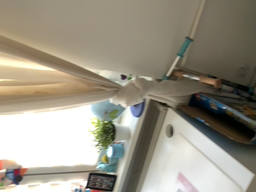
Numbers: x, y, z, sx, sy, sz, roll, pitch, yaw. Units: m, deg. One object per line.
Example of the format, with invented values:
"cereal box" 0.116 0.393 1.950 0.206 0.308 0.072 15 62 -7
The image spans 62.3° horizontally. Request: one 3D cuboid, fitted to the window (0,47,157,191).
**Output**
"window" -0.770 0.490 1.080 0.160 1.530 1.500 50 129 56
